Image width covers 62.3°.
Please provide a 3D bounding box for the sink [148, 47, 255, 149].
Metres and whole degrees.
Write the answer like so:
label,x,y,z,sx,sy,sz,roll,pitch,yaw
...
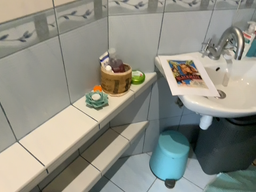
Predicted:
label,x,y,z,sx,sy,sz,roll,pitch,yaw
sink,0.470,-0.030,1.050,0.610,0.190,0.440,-7,42,-13
